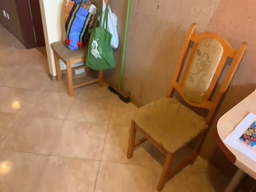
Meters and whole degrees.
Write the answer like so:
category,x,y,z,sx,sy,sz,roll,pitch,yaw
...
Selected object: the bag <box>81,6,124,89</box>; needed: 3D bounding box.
category,x,y,z,sx,sy,sz,roll,pitch,yaw
bag,-0.250,-0.460,2.040,0.280,0.700,0.260,-17,42,-28
